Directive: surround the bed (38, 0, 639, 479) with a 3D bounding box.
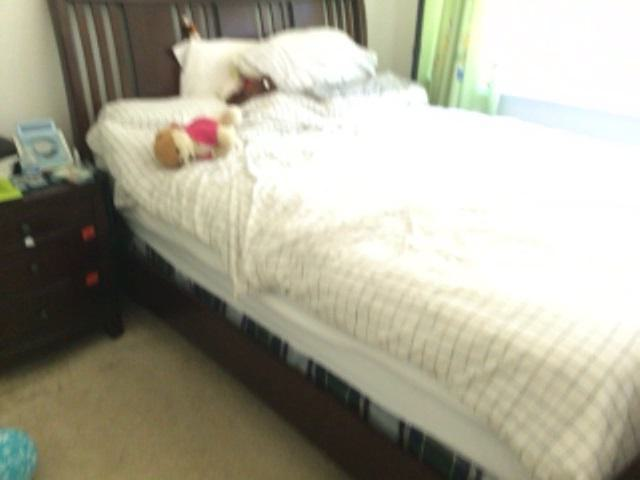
[{"bbox_3d":[0.420,-0.240,2.140,1.840,1.310,2.340,-21,32,-36],"label":"bed"}]

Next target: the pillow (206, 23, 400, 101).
[{"bbox_3d":[-0.060,-0.830,2.620,0.790,0.220,0.400,-21,32,-36],"label":"pillow"}]
